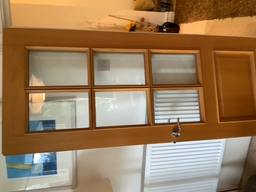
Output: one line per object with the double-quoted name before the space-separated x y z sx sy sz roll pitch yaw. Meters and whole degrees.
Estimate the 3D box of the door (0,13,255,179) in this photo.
"door" 0.200 -0.030 1.450 0.170 2.140 0.910 149 119 -74
